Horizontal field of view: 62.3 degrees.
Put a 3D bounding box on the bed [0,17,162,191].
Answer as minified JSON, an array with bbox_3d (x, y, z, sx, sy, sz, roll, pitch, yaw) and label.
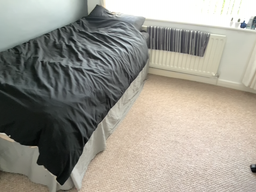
[{"bbox_3d":[-0.470,-0.170,2.100,1.070,0.660,2.060,14,34,17],"label":"bed"}]
